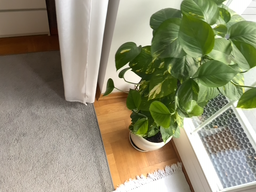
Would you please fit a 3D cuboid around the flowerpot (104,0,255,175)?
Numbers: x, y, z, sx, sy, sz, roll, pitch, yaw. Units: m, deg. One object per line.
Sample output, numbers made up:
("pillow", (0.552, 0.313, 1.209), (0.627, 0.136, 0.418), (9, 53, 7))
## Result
("flowerpot", (0.220, 0.010, 1.070), (0.470, 1.010, 0.470), (-7, 62, -18))
